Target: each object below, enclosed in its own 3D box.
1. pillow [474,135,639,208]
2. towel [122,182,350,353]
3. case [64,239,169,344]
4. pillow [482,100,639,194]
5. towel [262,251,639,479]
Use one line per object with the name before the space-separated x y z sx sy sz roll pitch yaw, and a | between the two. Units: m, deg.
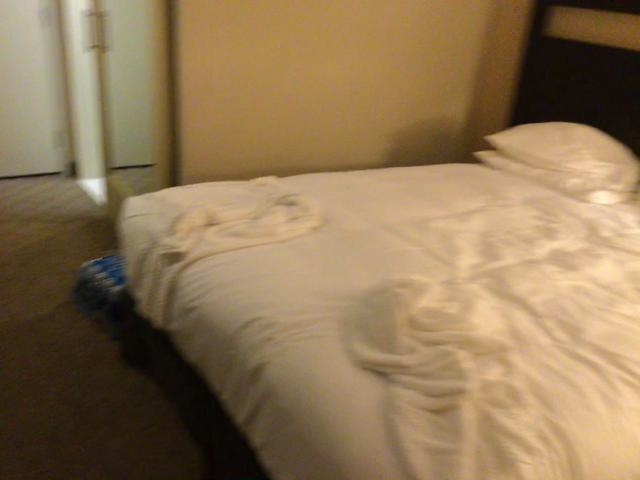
pillow | 1.010 -0.310 2.450 0.390 0.150 0.560 -8 25 -34
towel | -0.240 0.050 1.670 0.570 0.340 0.270 -8 25 -34
case | -0.830 0.190 2.340 0.290 0.220 0.430 -8 25 -34
pillow | 1.050 -0.410 2.430 0.450 0.270 0.500 -8 25 -34
towel | 0.240 0.300 1.100 0.460 0.320 0.570 -8 25 -34
